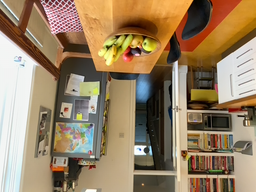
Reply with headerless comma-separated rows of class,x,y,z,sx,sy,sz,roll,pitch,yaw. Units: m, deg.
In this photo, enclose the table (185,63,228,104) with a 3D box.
table,1.600,-0.250,4.410,0.700,0.750,0.440,1,171,0
